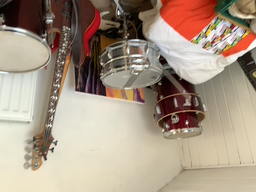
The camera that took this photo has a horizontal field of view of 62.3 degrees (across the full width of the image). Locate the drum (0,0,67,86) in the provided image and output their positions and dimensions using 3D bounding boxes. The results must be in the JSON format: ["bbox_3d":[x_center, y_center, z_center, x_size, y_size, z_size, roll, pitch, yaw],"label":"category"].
[{"bbox_3d":[-0.610,-0.470,1.160,0.390,0.630,0.540,9,158,-32],"label":"drum"}]

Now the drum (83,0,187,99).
[{"bbox_3d":[0.010,-0.360,1.450,0.460,0.580,0.510,9,158,-32],"label":"drum"}]

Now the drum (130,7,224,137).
[{"bbox_3d":[0.360,-0.150,1.740,0.470,0.880,0.450,9,158,-31],"label":"drum"}]
